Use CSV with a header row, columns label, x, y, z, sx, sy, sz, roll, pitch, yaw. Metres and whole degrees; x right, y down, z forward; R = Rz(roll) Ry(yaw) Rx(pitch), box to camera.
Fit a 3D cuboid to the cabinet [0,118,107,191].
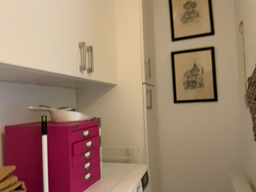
label,x,y,z,sx,sy,sz,roll,pitch,yaw
cabinet,-0.390,0.300,1.130,0.440,0.340,0.330,-2,-2,19
